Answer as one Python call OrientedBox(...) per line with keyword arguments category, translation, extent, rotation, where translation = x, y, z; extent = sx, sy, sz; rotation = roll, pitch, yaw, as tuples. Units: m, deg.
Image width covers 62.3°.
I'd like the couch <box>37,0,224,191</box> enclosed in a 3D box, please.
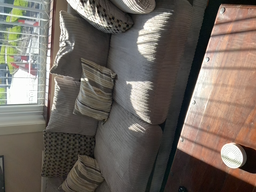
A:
OrientedBox(category="couch", translation=(-0.280, 0.400, 2.050), extent=(1.250, 0.850, 2.890), rotation=(35, 120, 52))
